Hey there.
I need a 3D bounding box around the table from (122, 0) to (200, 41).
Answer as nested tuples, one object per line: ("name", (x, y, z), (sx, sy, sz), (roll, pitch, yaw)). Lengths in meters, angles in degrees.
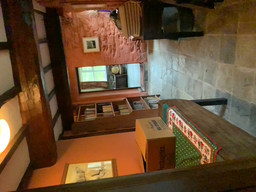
("table", (0.400, -1.160, 3.220), (1.250, 0.800, 0.550), (-120, 27, -71))
